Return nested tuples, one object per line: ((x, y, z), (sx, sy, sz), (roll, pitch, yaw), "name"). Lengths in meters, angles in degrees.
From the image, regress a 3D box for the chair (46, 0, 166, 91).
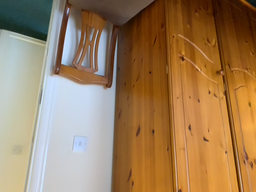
((-0.150, -0.590, 1.350), (0.460, 0.910, 0.580), (13, 158, -32), "chair")
